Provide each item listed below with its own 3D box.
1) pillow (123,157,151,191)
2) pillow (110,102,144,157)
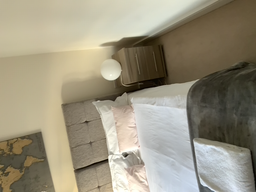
[{"bbox_3d":[0.130,1.080,2.460,0.140,0.260,0.660,-6,93,42],"label":"pillow"},{"bbox_3d":[-0.010,0.370,2.420,0.120,0.280,0.560,-11,90,46],"label":"pillow"}]
